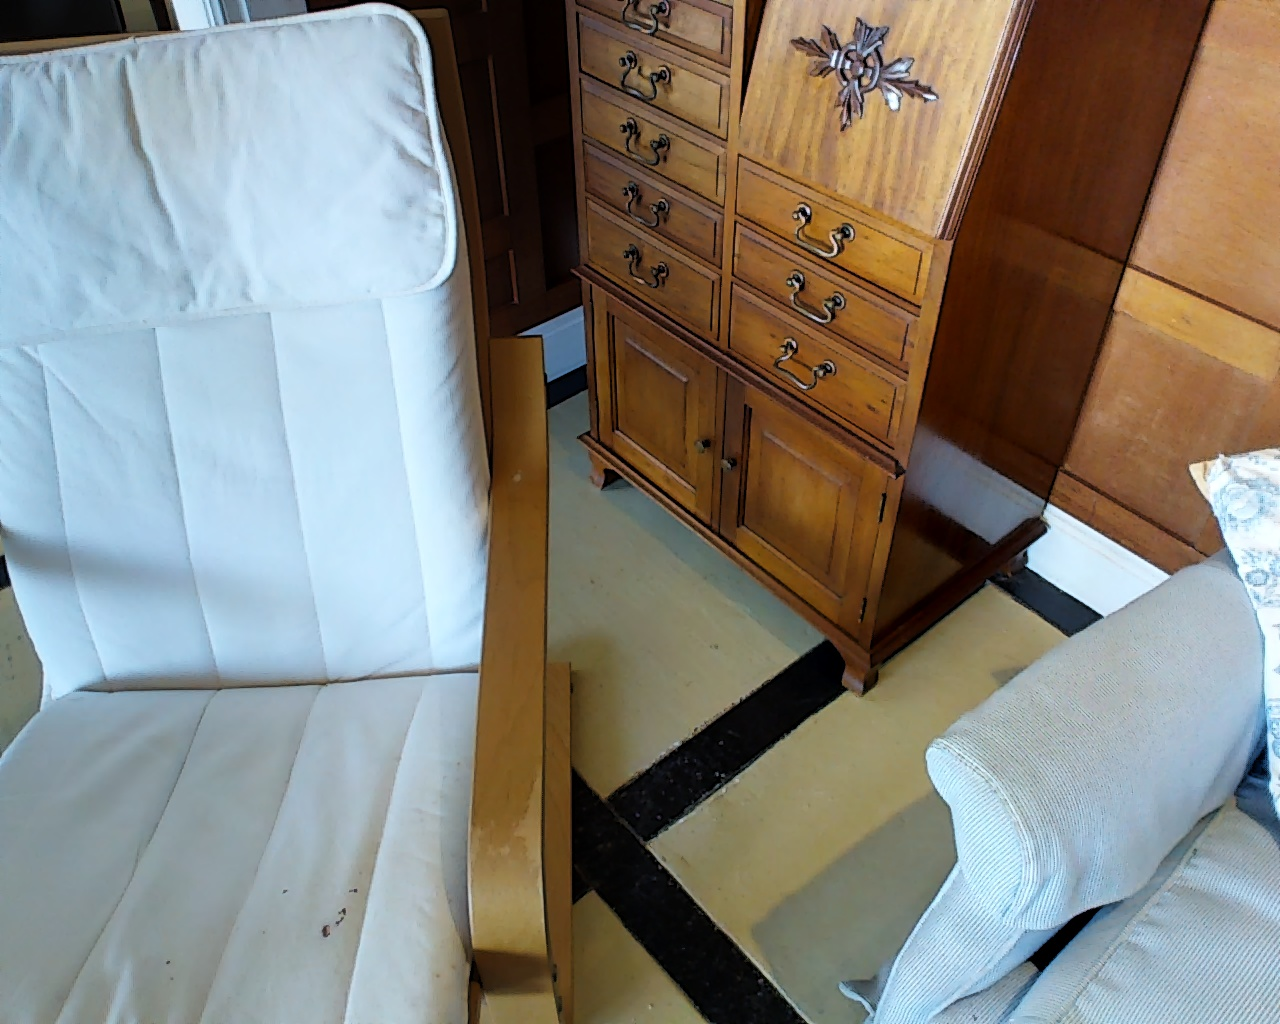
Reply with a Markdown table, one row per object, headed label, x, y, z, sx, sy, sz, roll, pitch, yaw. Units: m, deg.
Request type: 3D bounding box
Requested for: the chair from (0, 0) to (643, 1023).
| label | x | y | z | sx | sy | sz | roll | pitch | yaw |
| --- | --- | --- | --- | --- | --- | --- | --- | --- | --- |
| chair | -0.420 | 0.110 | 1.080 | 0.790 | 0.990 | 0.910 | -3 | 42 | -2 |
